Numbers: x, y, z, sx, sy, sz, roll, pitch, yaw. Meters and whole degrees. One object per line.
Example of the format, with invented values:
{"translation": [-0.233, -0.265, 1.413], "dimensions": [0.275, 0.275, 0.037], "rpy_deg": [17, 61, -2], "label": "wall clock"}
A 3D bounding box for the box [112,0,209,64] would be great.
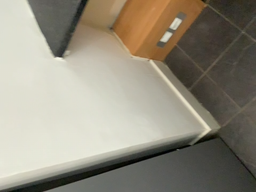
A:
{"translation": [0.200, -0.540, 1.450], "dimensions": [0.490, 0.300, 0.350], "rpy_deg": [-52, 56, 31], "label": "box"}
